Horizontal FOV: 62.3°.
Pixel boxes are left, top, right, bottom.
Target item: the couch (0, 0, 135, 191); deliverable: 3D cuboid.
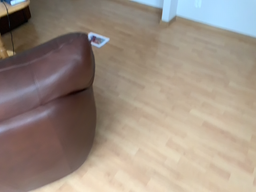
[{"bbox_3d":[-0.680,0.070,1.140,1.120,0.940,0.950,-16,47,-16],"label":"couch"}]
